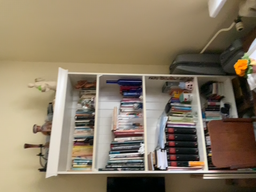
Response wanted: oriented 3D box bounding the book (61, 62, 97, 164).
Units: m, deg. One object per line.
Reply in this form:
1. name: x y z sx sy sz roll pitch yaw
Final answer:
1. book: -0.460 0.160 2.110 0.300 0.230 0.960 101 170 -68

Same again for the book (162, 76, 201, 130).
1. book: 0.520 0.080 2.140 0.320 0.260 0.460 101 170 -67

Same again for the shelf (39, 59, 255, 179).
1. shelf: 0.380 0.240 2.070 0.400 2.160 1.040 103 168 -70
